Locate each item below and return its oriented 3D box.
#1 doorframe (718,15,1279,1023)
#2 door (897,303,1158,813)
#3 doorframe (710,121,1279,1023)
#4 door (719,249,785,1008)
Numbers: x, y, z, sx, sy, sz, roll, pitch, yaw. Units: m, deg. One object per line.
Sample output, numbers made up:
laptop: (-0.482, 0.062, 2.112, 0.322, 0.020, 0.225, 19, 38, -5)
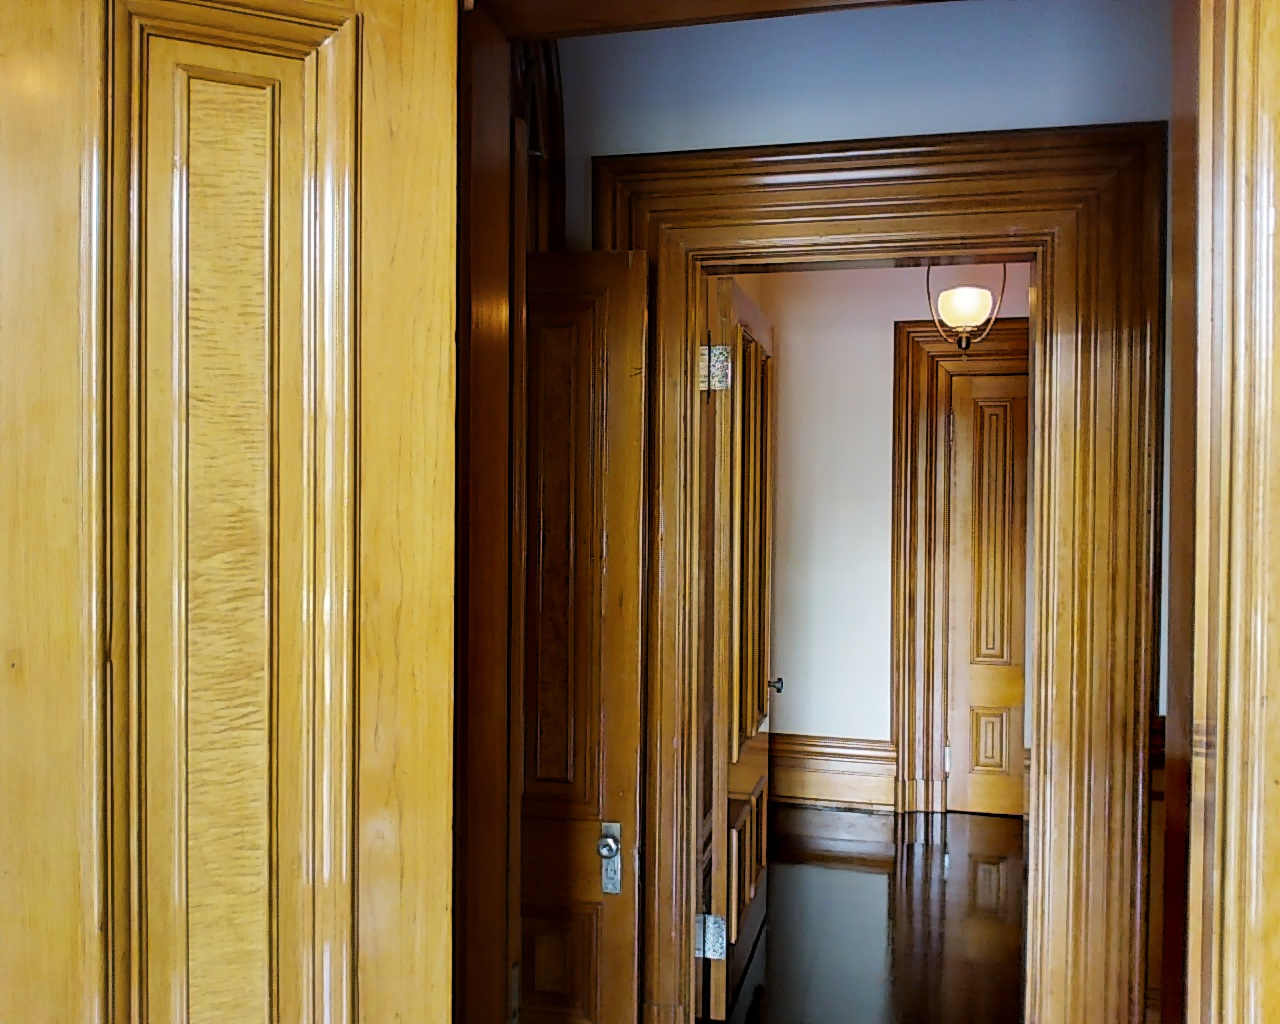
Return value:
doorframe: (1.020, 0.210, 2.670, 1.560, 2.550, 0.560, 1, 0, 14)
door: (1.950, 0.220, 5.480, 1.220, 2.500, 0.130, 1, 0, 14)
doorframe: (0.990, 0.250, 2.900, 1.580, 2.470, 0.110, 1, 0, 14)
door: (0.400, 0.350, 3.710, 0.070, 2.280, 0.980, 1, 0, 14)
